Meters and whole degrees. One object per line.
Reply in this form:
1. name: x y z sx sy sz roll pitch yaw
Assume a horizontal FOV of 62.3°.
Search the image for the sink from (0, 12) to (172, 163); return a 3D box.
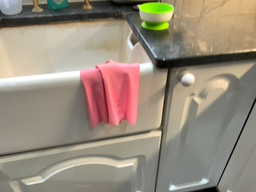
1. sink: -0.230 -0.070 0.760 0.610 0.280 0.450 -7 38 -10
